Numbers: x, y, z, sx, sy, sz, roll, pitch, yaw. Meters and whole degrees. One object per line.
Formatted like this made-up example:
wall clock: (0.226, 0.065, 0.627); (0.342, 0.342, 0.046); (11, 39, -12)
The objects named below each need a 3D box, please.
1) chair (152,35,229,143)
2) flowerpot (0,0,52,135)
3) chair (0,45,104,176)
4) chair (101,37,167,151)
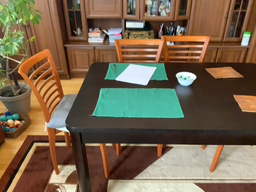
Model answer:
chair: (0.500, -0.070, 1.970); (0.460, 0.860, 0.520); (0, 30, 0)
flowerpot: (-1.430, -0.360, 2.090); (0.880, 1.300, 0.730); (0, 30, 1)
chair: (-0.480, 0.120, 1.610); (0.490, 0.890, 0.430); (1, 30, 2)
chair: (0.040, -0.020, 1.880); (0.450, 0.870, 0.520); (0, 30, 0)
